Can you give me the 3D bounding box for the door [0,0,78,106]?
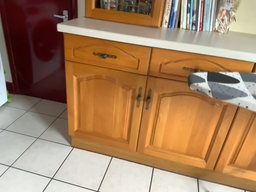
[{"bbox_3d":[-0.750,-0.850,1.660,0.730,1.980,0.030,11,29,10],"label":"door"}]
